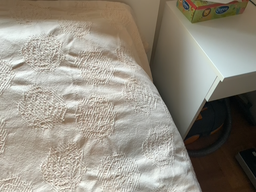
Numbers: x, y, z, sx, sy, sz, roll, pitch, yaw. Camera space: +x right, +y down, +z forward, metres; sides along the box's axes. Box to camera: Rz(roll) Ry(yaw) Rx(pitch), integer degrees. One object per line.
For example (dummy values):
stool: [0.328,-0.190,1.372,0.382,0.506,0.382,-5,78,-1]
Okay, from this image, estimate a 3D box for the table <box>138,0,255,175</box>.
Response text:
table: [0.470,-0.040,1.100,0.650,0.760,0.500,-12,54,-12]
